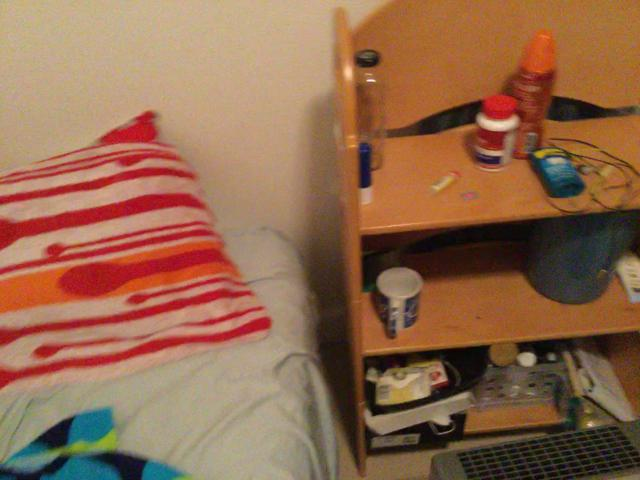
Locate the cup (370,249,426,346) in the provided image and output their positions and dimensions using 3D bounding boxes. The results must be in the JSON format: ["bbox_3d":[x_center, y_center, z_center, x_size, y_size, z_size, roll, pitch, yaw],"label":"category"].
[{"bbox_3d":[0.150,0.110,1.130,0.090,0.090,0.170,-5,38,5],"label":"cup"}]

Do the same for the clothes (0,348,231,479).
[{"bbox_3d":[-0.420,0.390,0.870,0.500,0.090,0.470,-5,38,5],"label":"clothes"}]

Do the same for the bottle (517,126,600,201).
[{"bbox_3d":[0.390,-0.130,0.960,0.080,0.040,0.160,-5,38,5],"label":"bottle"}]

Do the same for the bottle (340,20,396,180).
[{"bbox_3d":[0.090,-0.260,1.080,0.080,0.240,0.160,-5,38,5],"label":"bottle"}]

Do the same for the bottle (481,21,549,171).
[{"bbox_3d":[0.320,-0.240,0.970,0.060,0.200,0.140,-5,38,5],"label":"bottle"}]
